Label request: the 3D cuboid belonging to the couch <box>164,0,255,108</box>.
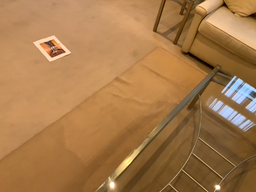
[{"bbox_3d":[1.260,-0.570,1.940,1.420,0.840,0.880,36,54,17],"label":"couch"}]
